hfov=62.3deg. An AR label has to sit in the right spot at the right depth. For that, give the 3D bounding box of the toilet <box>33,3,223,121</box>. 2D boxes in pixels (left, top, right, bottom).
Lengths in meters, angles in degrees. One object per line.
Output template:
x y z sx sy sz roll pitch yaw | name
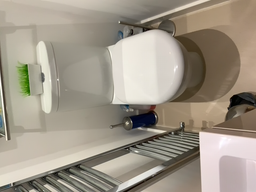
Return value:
0.030 -0.140 1.170 0.630 0.810 0.370 -1 95 46 | toilet
